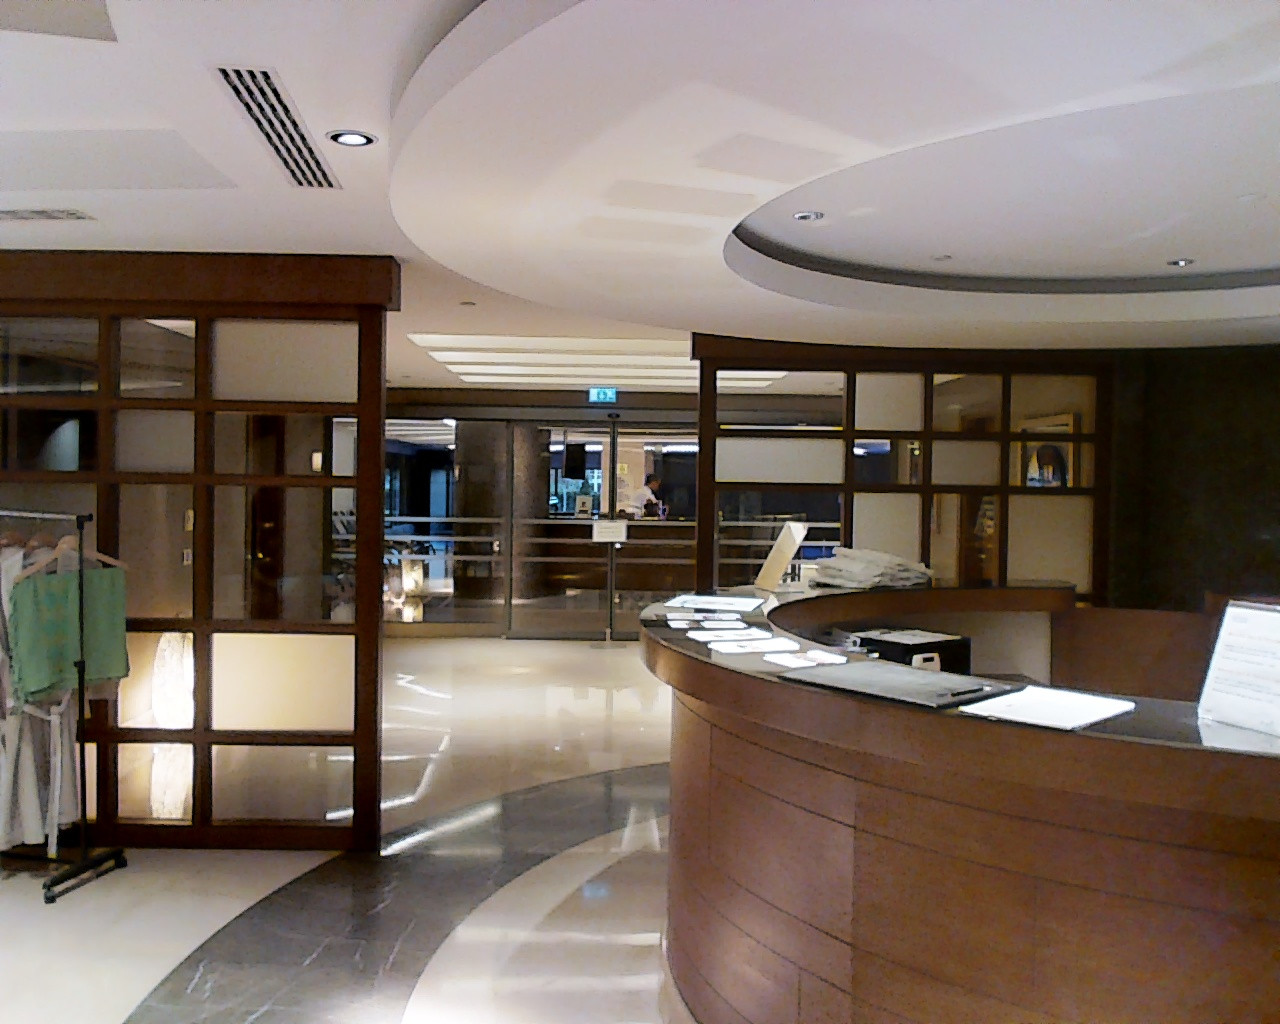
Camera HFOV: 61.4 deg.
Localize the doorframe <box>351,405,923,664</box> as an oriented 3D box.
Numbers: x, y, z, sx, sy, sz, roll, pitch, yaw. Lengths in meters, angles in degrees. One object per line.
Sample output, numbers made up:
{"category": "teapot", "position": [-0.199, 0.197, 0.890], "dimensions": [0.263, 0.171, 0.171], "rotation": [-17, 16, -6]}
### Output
{"category": "doorframe", "position": [-0.030, 0.230, 10.820], "dimensions": [5.659, 2.501, 0.200], "rotation": [1, 1, -1]}
